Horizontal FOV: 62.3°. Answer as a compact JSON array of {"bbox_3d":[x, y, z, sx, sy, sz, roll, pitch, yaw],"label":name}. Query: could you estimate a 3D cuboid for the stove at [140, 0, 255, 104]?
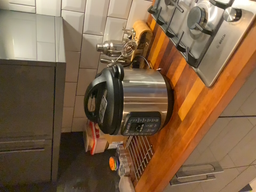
[{"bbox_3d":[0.220,-0.400,0.640,0.570,0.030,0.630,-110,29,-43],"label":"stove"}]
